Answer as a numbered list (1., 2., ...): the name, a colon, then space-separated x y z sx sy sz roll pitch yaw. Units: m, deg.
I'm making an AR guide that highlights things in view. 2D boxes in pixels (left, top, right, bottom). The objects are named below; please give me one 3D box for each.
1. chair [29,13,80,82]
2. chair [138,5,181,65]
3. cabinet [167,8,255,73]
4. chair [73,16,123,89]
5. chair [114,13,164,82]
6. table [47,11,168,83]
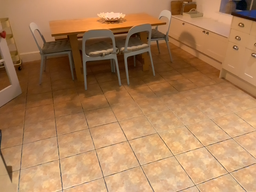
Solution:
1. chair: -1.050 -0.730 3.130 0.530 0.820 0.560 -9 33 -15
2. chair: 0.500 -1.040 3.610 0.510 0.840 0.510 -9 33 -14
3. cabinet: 1.370 -1.090 3.810 0.460 0.630 1.770 -10 33 -16
4. chair: -0.410 -0.620 2.950 0.560 0.820 0.510 -9 33 -14
5. chair: 0.140 -0.720 3.100 0.500 0.820 0.470 -17 35 -25
6. table: -0.330 -0.840 3.370 1.660 0.750 0.800 -10 33 -16
